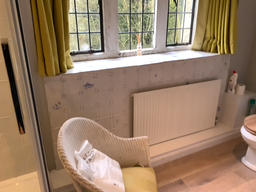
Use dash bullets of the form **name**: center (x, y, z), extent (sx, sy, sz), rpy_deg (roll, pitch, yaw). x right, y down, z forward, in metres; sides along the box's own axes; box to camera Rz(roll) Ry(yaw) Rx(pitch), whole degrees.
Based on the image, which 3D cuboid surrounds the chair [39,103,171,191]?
- **chair**: center (-0.110, 0.530, 1.450), extent (0.630, 0.760, 0.650), rpy_deg (1, 22, 0)
